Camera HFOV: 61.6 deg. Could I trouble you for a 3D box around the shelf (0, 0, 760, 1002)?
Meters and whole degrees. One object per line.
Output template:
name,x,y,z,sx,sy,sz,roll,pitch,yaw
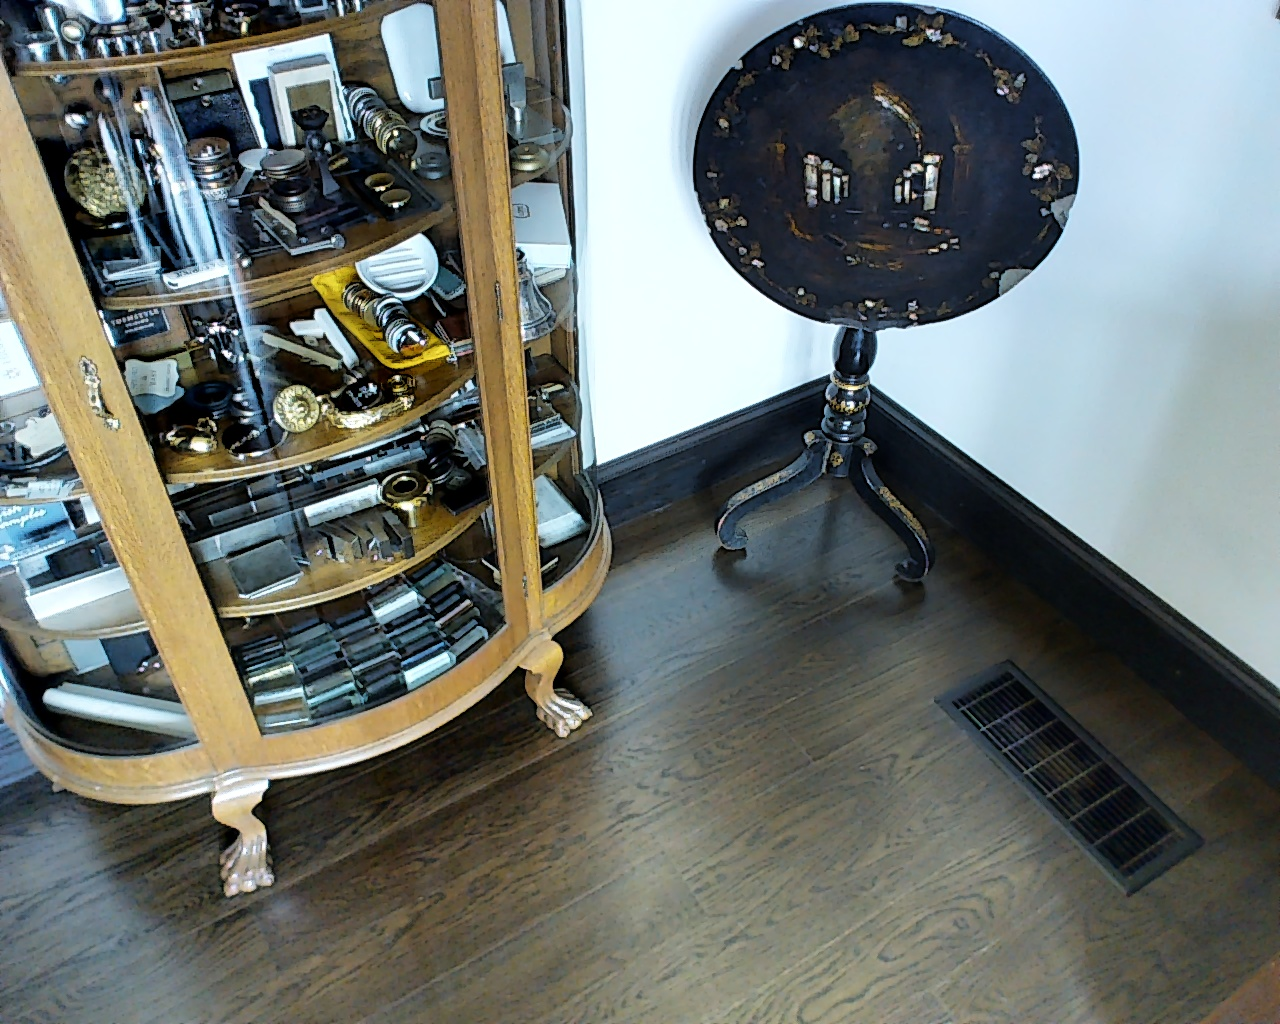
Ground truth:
shelf,-0.430,-0.210,1.340,1.040,1.560,0.450,-24,47,-25
